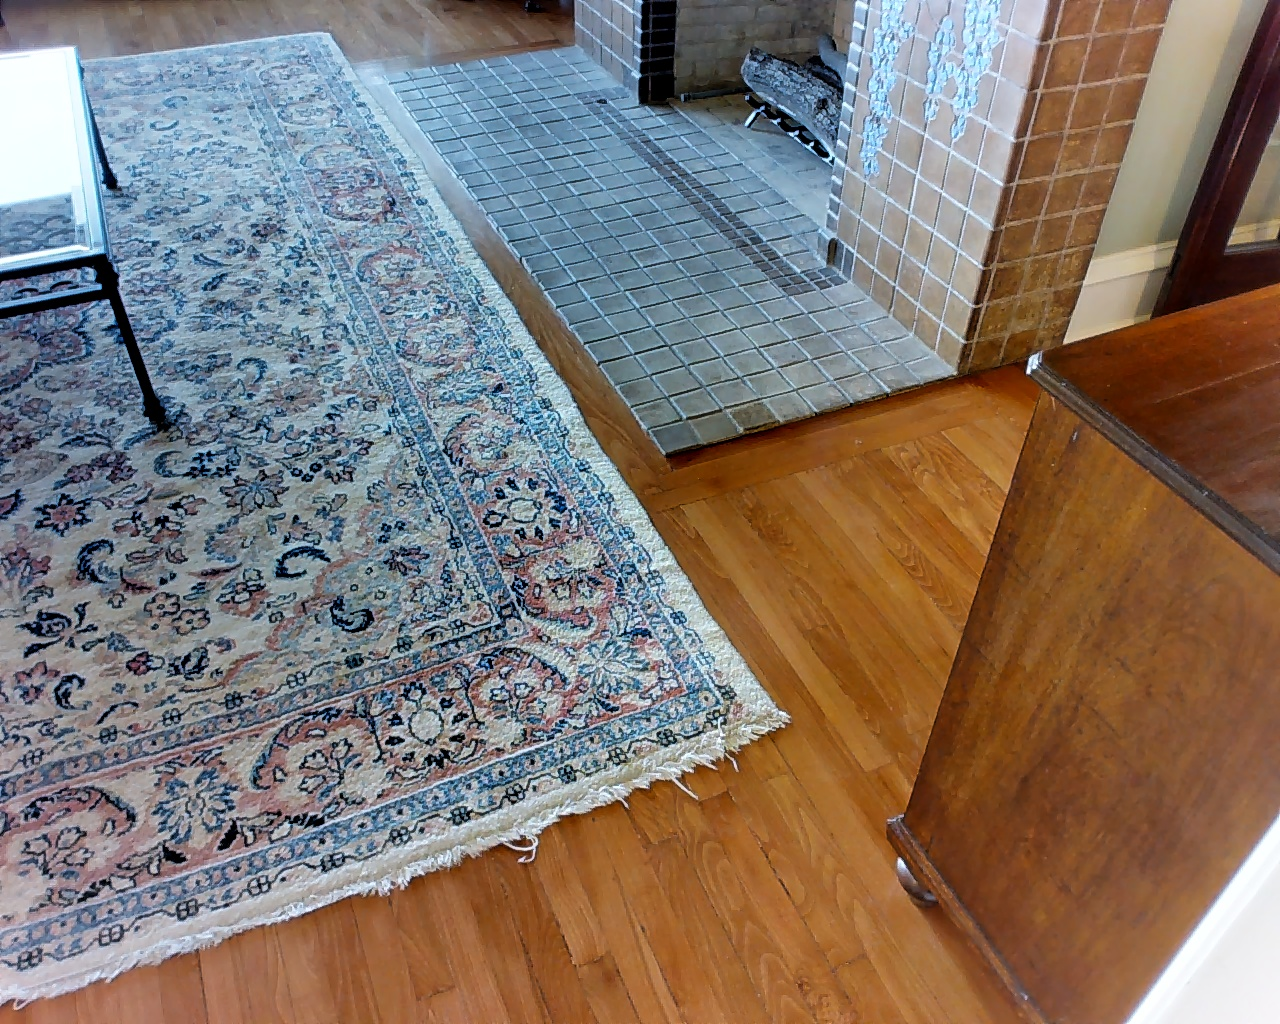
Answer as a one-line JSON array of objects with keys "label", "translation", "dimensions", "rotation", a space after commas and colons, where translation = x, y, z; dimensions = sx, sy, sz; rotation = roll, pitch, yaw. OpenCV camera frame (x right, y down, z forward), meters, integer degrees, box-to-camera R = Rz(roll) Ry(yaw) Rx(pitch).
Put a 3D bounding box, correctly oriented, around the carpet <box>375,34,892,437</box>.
[{"label": "carpet", "translation": [-0.210, -1.090, 3.520], "dimensions": [0.690, 0.040, 2.630], "rotation": [-16, 45, -18]}]
